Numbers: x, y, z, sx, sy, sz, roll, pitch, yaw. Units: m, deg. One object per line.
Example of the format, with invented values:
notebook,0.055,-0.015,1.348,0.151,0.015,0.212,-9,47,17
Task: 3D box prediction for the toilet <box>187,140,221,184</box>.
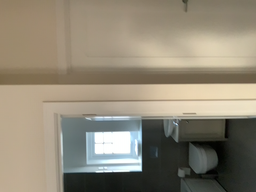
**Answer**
toilet,1.100,0.950,3.140,0.520,0.280,0.440,-121,30,-83
